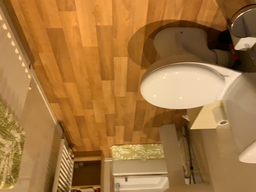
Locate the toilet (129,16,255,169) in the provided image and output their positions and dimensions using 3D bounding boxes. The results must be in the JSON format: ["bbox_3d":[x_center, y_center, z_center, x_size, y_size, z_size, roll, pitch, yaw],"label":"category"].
[{"bbox_3d":[0.350,-0.050,1.190,0.630,0.770,0.390,-1,144,-3],"label":"toilet"}]

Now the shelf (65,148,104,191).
[{"bbox_3d":[-0.530,1.200,2.590,0.420,1.060,0.300,-1,144,-3],"label":"shelf"}]

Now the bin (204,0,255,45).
[{"bbox_3d":[0.560,-0.440,1.040,0.220,0.290,0.230,1,144,-7],"label":"bin"}]
